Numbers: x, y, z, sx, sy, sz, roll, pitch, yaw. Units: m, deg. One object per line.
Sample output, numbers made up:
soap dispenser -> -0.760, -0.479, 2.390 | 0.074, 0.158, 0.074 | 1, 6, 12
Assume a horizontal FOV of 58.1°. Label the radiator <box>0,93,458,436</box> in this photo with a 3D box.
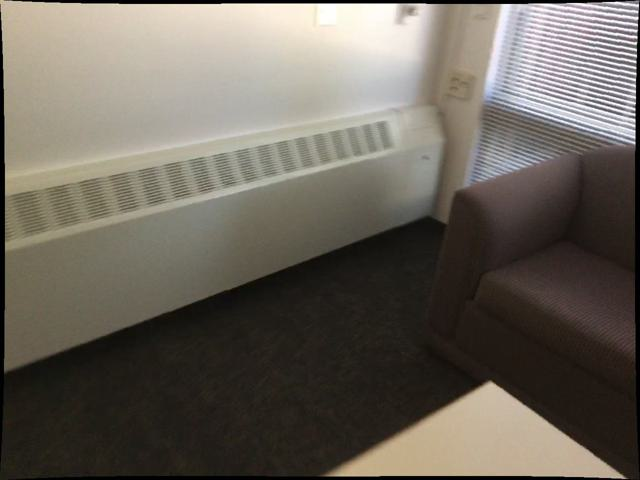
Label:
radiator -> -0.260, -0.070, 2.160 | 0.270, 0.661, 2.159 | 30, 36, 36
